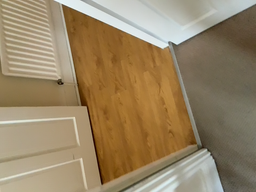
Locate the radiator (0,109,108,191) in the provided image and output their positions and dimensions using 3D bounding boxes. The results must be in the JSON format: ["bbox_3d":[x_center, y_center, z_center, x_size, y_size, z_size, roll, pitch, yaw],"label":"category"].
[{"bbox_3d":[-0.600,0.540,1.550,0.150,1.020,0.840,-19,78,34],"label":"radiator"}]

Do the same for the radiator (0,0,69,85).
[{"bbox_3d":[-0.880,-0.510,1.850,0.160,0.580,0.780,-24,75,33],"label":"radiator"}]
